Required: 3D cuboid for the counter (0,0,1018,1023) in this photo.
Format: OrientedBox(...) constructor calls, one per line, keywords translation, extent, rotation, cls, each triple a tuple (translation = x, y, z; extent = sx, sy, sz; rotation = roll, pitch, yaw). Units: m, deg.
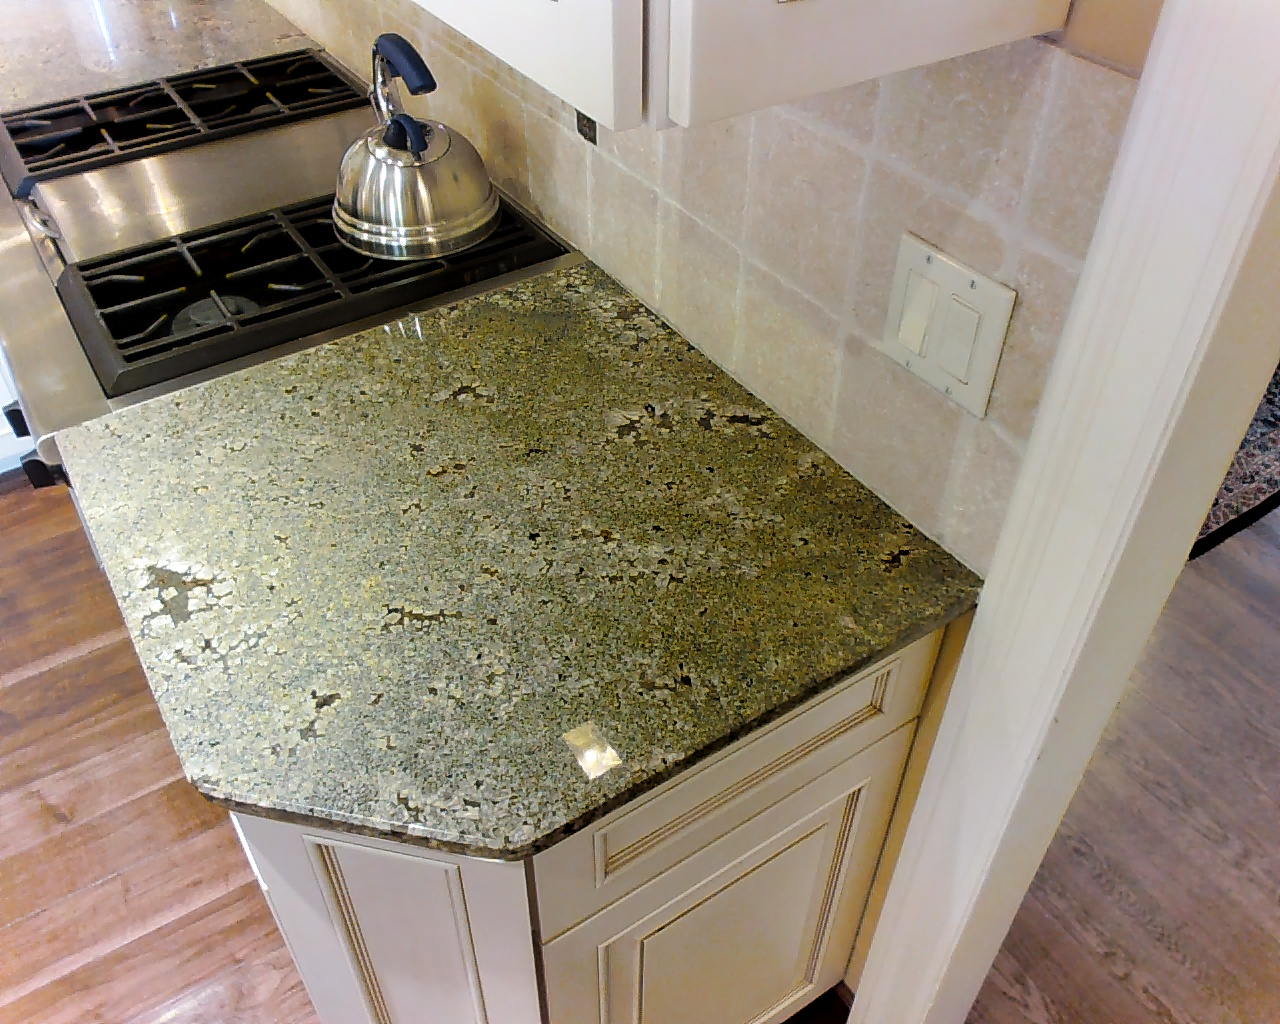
OrientedBox(translation=(-1.110, -0.320, 1.370), extent=(1.750, 0.090, 2.540), rotation=(-24, 47, -23), cls="counter")
